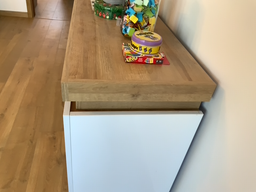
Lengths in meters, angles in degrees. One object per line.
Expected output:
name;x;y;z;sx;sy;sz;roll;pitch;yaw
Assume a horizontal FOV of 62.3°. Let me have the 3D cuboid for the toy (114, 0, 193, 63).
toy;0.060;-0.270;0.740;0.170;0.160;0.330;1;38;-12
